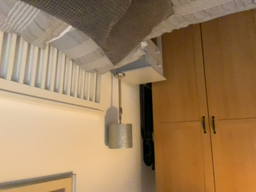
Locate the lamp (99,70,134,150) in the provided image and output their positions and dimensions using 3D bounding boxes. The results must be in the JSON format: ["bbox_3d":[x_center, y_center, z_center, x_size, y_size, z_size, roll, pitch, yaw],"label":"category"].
[{"bbox_3d":[-0.090,0.120,1.740,0.200,0.610,0.210,-6,168,24],"label":"lamp"}]
